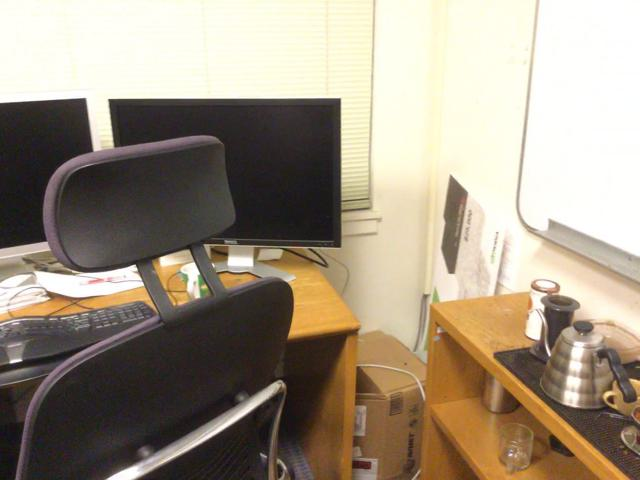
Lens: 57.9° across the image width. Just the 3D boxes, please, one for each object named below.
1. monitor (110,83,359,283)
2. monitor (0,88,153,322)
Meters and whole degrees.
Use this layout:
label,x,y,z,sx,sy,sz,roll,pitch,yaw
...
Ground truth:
label,x,y,z,sx,sy,sz,roll,pitch,yaw
monitor,-0.240,-0.180,1.750,0.680,0.530,0.210,4,19,4
monitor,-0.900,-0.100,1.570,0.780,0.580,0.280,-10,22,-32
